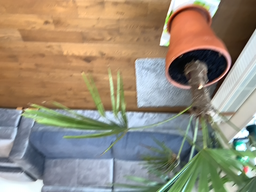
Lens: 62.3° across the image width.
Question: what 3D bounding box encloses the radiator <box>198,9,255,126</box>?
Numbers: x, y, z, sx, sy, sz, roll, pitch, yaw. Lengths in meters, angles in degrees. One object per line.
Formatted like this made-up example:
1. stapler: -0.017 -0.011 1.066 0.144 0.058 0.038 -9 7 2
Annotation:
1. radiator: 0.880 -0.260 1.600 0.120 0.290 1.580 3 146 -2

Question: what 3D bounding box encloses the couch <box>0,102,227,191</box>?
1. couch: -0.210 0.820 2.700 2.290 0.990 1.090 2 146 0
